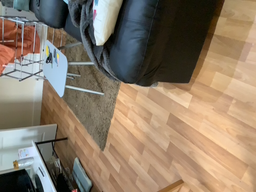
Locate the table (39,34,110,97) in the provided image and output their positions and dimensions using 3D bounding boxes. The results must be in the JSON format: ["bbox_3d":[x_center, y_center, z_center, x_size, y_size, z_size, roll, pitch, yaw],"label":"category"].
[{"bbox_3d":[-0.620,-0.350,2.330,0.710,0.470,0.440,37,120,45],"label":"table"}]

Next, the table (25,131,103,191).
[{"bbox_3d":[-0.930,1.190,2.820,1.230,0.510,0.860,36,120,45],"label":"table"}]
